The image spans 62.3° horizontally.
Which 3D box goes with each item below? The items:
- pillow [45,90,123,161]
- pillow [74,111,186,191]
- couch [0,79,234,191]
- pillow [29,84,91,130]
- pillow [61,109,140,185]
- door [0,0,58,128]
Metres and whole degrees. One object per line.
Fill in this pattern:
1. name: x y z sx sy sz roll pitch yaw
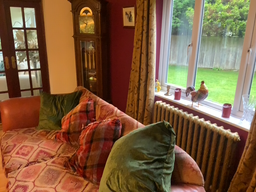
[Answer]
1. pillow: -0.490 0.250 2.260 0.520 0.390 0.770 -10 21 -35
2. pillow: 0.040 0.690 1.480 0.540 0.960 0.570 8 18 19
3. couch: -0.570 0.540 2.100 1.120 0.820 2.620 -8 20 -30
4. pillow: -0.840 0.130 2.780 0.650 0.440 0.510 1 17 -4
5. pillow: -0.240 0.390 1.820 0.490 0.360 0.450 -11 21 -35
6. door: -1.840 -0.550 3.460 1.160 2.080 0.240 -9 20 -31
